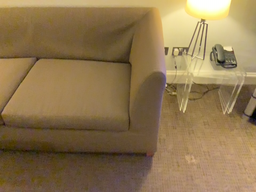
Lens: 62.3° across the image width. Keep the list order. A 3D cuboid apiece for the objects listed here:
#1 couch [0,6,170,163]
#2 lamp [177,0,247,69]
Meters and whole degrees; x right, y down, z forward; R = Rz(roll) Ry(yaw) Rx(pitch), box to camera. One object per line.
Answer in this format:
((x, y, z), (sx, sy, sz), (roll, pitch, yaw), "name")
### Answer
((-0.740, -0.150, 1.700), (1.980, 0.790, 0.940), (2, 42, 4), "couch")
((0.600, -0.540, 1.620), (0.340, 0.590, 0.290), (1, 42, 3), "lamp")
